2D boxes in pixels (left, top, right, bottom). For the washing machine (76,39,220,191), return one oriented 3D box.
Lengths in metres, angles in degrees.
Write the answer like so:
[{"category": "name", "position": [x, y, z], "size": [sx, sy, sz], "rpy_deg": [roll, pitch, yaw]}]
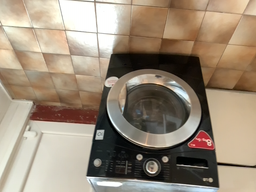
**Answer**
[{"category": "washing machine", "position": [0.100, 0.230, 1.450], "size": [0.590, 0.850, 0.810], "rpy_deg": [4, 143, 1]}]
